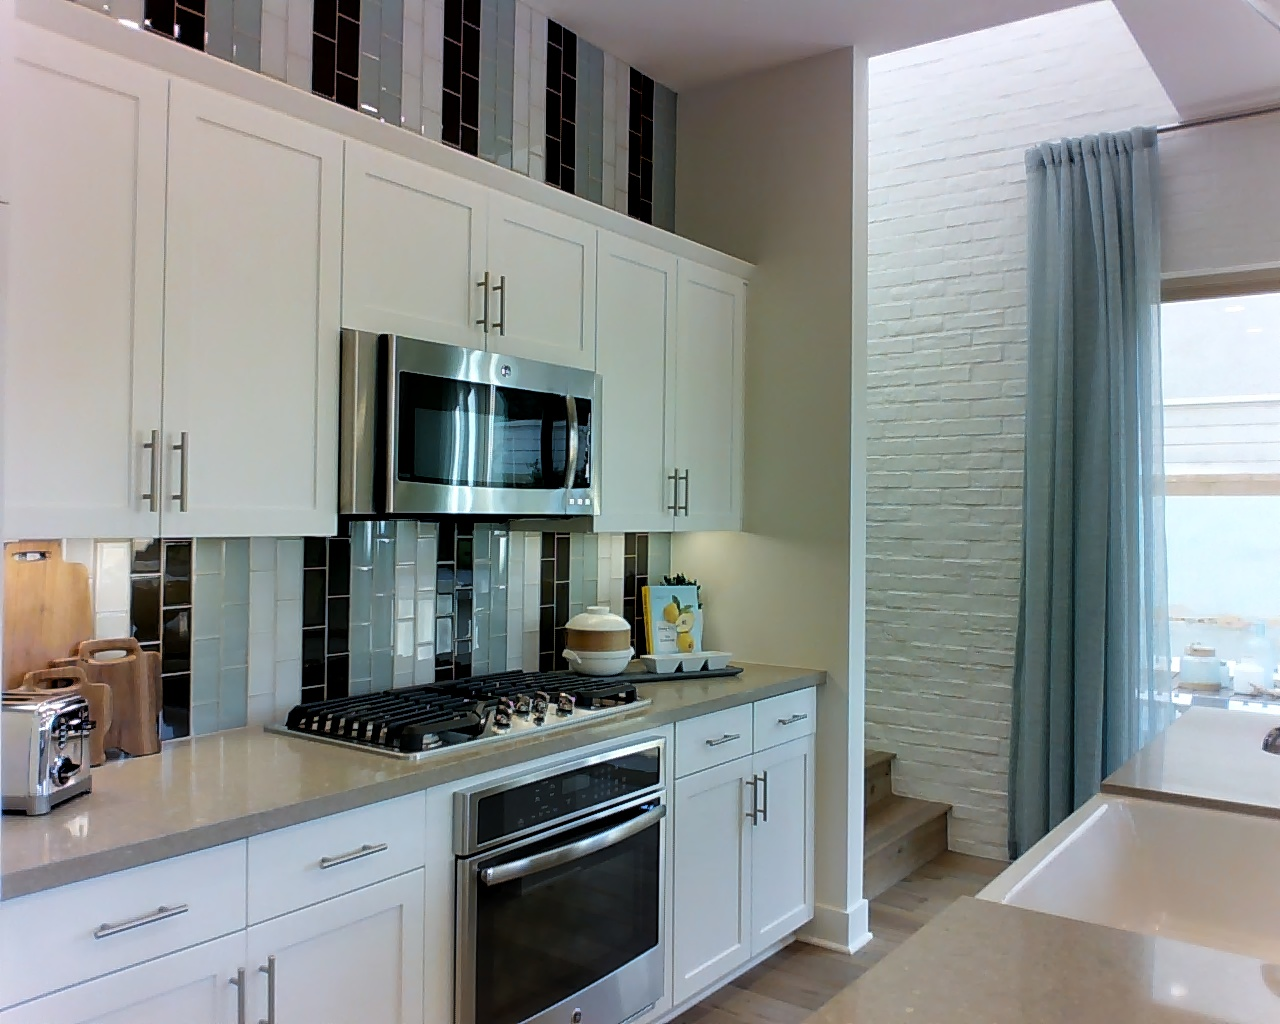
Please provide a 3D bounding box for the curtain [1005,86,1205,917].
[{"bbox_3d":[1.839,-0.040,4.260,0.660,3.071,0.260,-1,-1,36],"label":"curtain"}]
